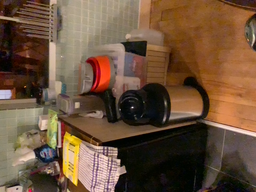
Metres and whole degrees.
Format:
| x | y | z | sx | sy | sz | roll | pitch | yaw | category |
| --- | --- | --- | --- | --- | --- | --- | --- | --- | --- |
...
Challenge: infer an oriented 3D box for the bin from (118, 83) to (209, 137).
| x | y | z | sx | sy | sz | roll | pitch | yaw | category |
| --- | --- | --- | --- | --- | --- | --- | --- | --- | --- |
| 0.250 | 0.060 | 1.400 | 0.240 | 0.590 | 0.260 | 15 | 103 | 49 | bin |
